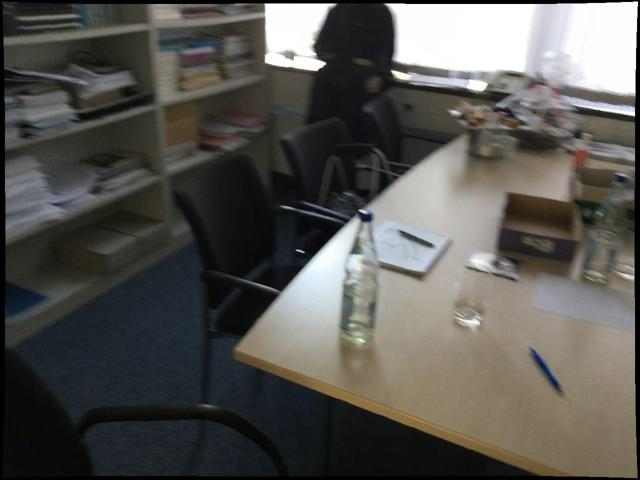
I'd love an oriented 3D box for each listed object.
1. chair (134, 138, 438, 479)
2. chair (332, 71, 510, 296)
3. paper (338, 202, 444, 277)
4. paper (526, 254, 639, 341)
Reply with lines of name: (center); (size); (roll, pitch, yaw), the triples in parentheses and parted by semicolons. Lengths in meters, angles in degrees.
chair: (-0.090, 0.180, 1.830); (0.689, 0.781, 0.540); (15, 30, 23)
chair: (0.470, -0.300, 2.780); (0.620, 0.851, 0.530); (15, 30, 23)
paper: (0.210, -0.010, 1.670); (0.220, 0.070, 0.260); (15, 30, 24)
paper: (0.689, 0.140, 1.420); (0.310, 0.050, 0.220); (15, 30, 23)
